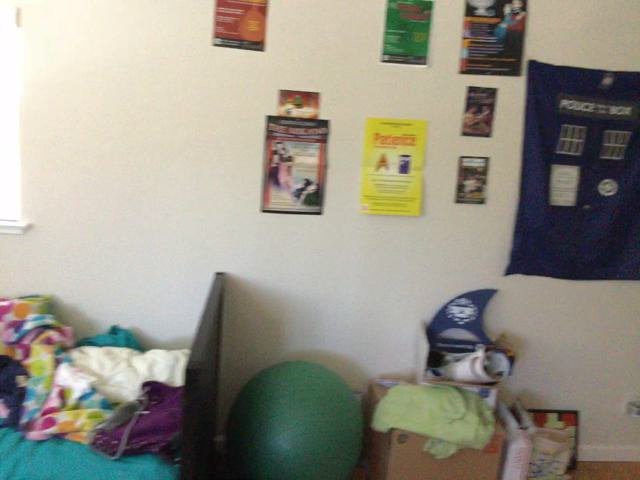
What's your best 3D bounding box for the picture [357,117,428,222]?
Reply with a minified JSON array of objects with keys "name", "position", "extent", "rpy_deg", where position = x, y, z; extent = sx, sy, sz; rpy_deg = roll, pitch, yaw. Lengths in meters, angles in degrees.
[{"name":"picture","position":[0.320,-0.310,2.570],"extent":[0.280,0.450,0.070],"rpy_deg":[2,6,-5]}]
